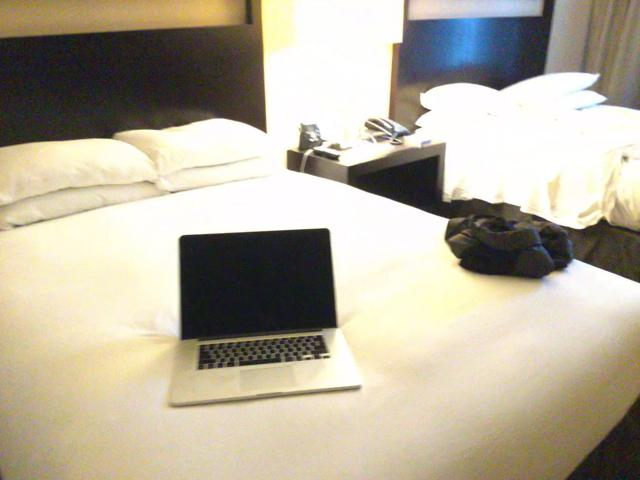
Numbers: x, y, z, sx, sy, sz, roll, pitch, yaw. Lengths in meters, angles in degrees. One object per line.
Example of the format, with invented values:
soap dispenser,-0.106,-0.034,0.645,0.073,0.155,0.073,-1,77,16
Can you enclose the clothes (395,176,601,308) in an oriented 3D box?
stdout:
clothes,0.500,-0.020,1.660,0.370,0.180,0.420,-22,27,-36

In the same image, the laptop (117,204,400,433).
laptop,-0.120,0.130,1.230,0.470,0.230,0.460,-7,22,-4
